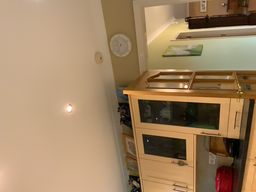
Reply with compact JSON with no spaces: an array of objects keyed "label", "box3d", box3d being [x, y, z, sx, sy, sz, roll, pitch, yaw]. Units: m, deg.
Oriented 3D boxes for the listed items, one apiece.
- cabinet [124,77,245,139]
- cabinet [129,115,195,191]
[{"label":"cabinet","box3d":[0.610,0.110,2.460,0.290,1.240,0.560,-53,-39,-55]},{"label":"cabinet","box3d":[0.540,1.170,3.080,0.300,0.770,1.850,-53,-39,-55]}]
